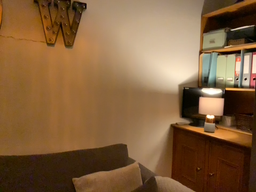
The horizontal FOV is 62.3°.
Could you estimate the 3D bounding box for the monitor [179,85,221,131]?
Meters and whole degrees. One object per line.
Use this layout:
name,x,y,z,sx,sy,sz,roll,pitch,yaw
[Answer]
monitor,0.730,0.110,2.160,0.370,0.420,0.170,3,3,18
